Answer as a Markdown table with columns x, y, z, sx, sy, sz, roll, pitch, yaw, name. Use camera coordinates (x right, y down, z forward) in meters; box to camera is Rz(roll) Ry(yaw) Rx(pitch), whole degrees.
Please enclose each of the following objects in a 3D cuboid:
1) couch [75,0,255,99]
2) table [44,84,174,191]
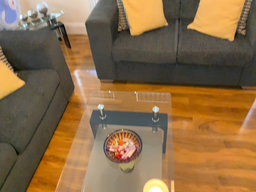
| x | y | z | sx | sy | sz | roll | pitch | yaw | name |
| --- | --- | --- | --- | --- | --- | --- | --- | --- | --- |
| 0.490 | -0.660 | 2.060 | 1.570 | 0.760 | 1.040 | 5 | 46 | 9 | couch |
| -0.040 | 0.370 | 1.360 | 0.610 | 0.380 | 0.860 | 4 | 46 | 9 | table |
